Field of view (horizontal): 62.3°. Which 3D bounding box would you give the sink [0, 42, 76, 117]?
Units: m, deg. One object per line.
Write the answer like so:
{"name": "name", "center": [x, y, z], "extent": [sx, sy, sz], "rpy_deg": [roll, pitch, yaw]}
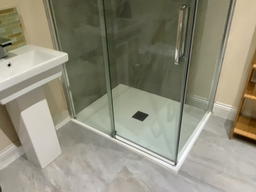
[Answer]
{"name": "sink", "center": [-0.700, -0.150, 1.380], "extent": [0.420, 0.180, 0.540], "rpy_deg": [20, 39, 30]}
